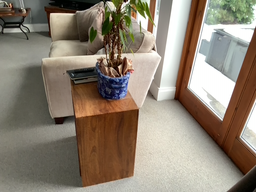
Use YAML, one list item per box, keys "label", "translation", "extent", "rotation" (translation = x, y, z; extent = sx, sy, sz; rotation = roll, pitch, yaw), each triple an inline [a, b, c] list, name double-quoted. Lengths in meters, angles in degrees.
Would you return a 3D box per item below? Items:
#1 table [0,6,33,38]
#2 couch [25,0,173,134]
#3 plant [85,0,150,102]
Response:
- label: "table"
  translation: [-2.200, -1.410, 3.990]
  extent: [0.630, 0.460, 0.500]
  rotation: [-6, 33, -15]
- label: "couch"
  translation: [-0.420, -0.530, 2.410]
  extent: [1.050, 0.840, 1.700]
  rotation: [-6, 33, -15]
- label: "plant"
  translation: [-0.090, -0.300, 1.250]
  extent: [0.270, 0.510, 0.400]
  rotation: [-5, 33, -13]
